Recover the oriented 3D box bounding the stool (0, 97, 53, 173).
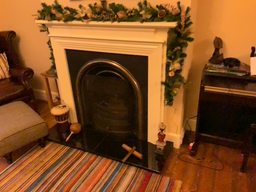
[{"bbox_3d":[-1.220,0.360,2.240,0.680,0.370,0.500,22,35,40],"label":"stool"}]

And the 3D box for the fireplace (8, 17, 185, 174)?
[{"bbox_3d":[-0.250,-0.080,2.060,1.390,1.230,0.560,8,28,21],"label":"fireplace"}]
